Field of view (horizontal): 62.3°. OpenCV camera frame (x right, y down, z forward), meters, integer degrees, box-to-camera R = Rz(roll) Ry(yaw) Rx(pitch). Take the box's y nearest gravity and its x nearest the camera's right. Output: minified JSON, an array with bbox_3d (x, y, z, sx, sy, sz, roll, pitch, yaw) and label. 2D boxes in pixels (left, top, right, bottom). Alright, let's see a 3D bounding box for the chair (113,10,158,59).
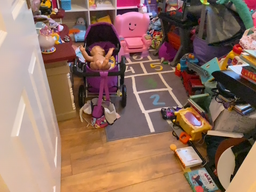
[{"bbox_3d":[0.060,-0.730,2.500,0.420,0.440,0.360,-7,39,-13],"label":"chair"}]
